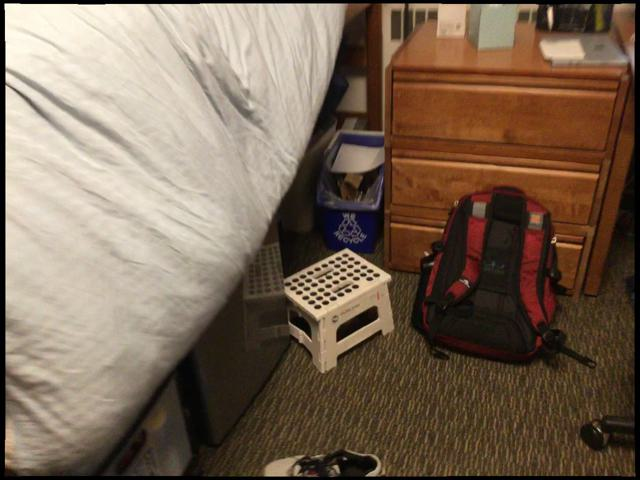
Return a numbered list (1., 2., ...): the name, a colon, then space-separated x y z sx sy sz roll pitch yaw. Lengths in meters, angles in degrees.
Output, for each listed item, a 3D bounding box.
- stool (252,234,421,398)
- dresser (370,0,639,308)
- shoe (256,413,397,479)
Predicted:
1. stool: 0.050 0.220 1.840 0.390 0.240 0.350 -23 39 -30
2. dresser: 0.659 -0.391 2.180 0.729 0.821 0.840 9 35 16
3. shoe: 0.020 0.551 1.390 0.299 0.110 0.160 9 35 15
